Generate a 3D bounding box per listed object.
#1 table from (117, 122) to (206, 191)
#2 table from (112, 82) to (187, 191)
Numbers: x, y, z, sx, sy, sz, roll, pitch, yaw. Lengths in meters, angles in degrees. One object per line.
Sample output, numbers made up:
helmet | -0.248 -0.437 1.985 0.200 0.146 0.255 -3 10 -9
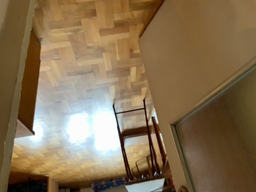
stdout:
table | 0.380 0.980 2.970 0.920 0.730 0.950 -9 147 -4
table | 0.150 0.480 2.150 0.460 0.740 0.990 -9 147 -4
